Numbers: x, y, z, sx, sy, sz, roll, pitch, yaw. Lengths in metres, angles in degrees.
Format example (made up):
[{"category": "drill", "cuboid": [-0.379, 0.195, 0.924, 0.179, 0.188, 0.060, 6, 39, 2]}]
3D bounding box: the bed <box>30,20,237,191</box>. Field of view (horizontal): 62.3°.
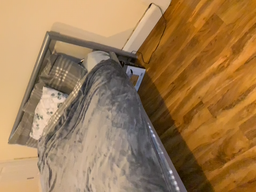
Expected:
[{"category": "bed", "cuboid": [-0.170, 0.760, 1.780, 1.690, 0.620, 2.030, -49, 50, 36]}]
